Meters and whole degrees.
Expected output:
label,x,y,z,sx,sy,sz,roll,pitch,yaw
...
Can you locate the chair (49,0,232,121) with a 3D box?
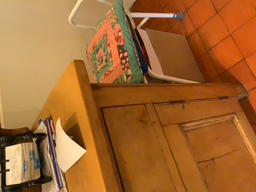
label,x,y,z,sx,sy,sz,roll,pitch,yaw
chair,0.050,-0.210,1.130,0.530,0.700,0.440,-40,62,45
